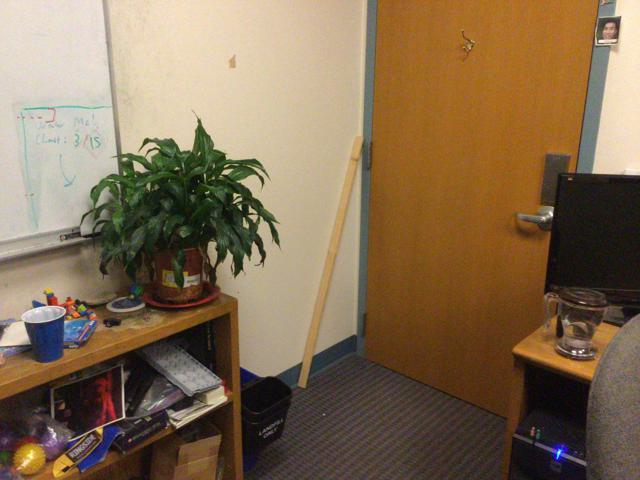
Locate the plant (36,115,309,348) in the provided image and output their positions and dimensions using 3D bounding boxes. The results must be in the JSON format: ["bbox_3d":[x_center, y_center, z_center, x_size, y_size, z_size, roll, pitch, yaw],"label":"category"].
[{"bbox_3d":[-0.390,-0.080,1.630,0.480,0.490,0.540,13,20,39],"label":"plant"}]
